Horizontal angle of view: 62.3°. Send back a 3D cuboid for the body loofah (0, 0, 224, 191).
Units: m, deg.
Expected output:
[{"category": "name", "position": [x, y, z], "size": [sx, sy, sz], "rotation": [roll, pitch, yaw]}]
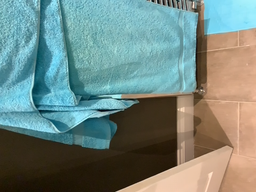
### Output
[{"category": "body loofah", "position": [0.000, -0.240, 0.890], "size": [0.230, 1.180, 1.010], "rotation": [8, 99, 49]}]
